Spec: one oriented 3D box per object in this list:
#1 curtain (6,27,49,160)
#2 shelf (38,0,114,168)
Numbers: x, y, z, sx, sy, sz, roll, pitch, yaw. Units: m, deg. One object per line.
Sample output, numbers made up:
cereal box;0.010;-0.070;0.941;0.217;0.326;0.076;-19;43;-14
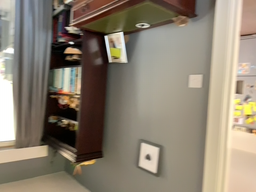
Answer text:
curtain;-1.210;-0.020;2.540;0.360;1.450;0.310;1;-177;-39
shelf;-0.640;-0.360;2.400;0.320;1.980;1.020;1;-177;-42
